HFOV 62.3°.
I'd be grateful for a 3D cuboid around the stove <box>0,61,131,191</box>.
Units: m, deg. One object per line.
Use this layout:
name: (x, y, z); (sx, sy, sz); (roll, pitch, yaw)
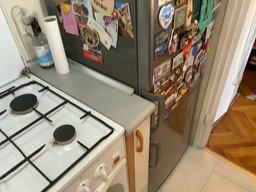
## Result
stove: (-0.390, 0.150, 0.690); (0.610, 0.150, 0.510); (27, 48, 30)
